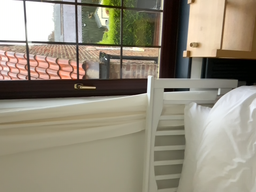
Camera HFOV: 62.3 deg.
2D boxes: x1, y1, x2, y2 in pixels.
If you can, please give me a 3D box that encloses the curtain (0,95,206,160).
[{"bbox_3d":[-0.360,0.180,1.290,0.090,1.860,0.320,-148,58,-70],"label":"curtain"}]
